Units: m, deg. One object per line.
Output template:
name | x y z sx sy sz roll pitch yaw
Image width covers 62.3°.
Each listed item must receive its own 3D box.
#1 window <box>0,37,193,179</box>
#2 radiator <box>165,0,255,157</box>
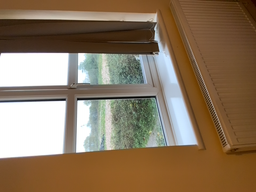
window | -0.350 -0.020 1.500 0.050 1.390 1.070 103 162 -55
radiator | 0.710 -0.280 1.390 0.080 0.650 1.300 103 162 -55
